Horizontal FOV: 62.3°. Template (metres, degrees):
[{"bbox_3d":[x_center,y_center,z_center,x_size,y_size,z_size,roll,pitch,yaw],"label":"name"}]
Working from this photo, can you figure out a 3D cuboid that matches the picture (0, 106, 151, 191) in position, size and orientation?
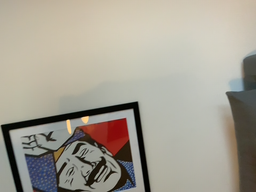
[{"bbox_3d":[-0.280,0.410,1.260,0.060,0.790,0.580,-147,49,-79],"label":"picture"}]
